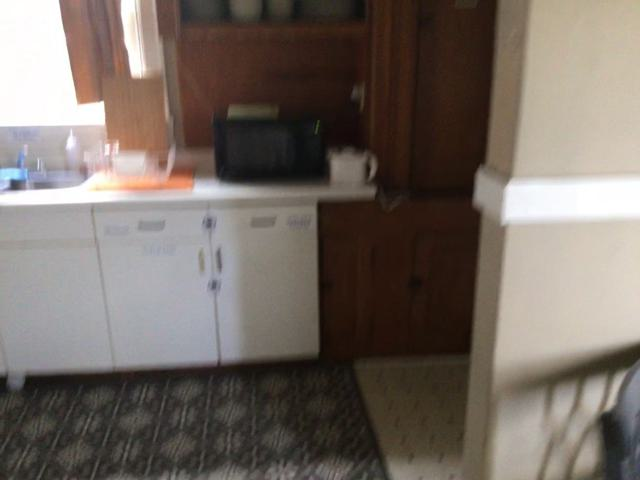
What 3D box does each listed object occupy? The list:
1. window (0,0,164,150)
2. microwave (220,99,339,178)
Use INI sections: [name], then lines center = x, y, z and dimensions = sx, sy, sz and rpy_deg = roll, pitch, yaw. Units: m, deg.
[window]
center = -1.340, -1.090, 2.600
dimensions = 1.090, 1.300, 0.400
rpy_deg = -3, 17, -8
[microwave]
center = -0.200, -0.490, 2.710
dimensions = 0.510, 0.300, 0.440
rpy_deg = -3, 17, -8
